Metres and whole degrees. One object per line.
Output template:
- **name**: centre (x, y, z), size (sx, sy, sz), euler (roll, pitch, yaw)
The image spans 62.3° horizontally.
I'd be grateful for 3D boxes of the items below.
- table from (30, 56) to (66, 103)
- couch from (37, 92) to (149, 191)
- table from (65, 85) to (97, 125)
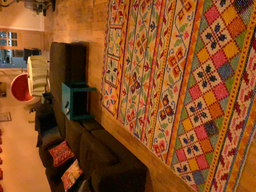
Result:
- **table**: centre (-2.250, -0.500, 5.930), size (1.060, 0.750, 1.090), euler (27, 116, 57)
- **couch**: centre (-0.990, 0.980, 3.800), size (3.490, 0.730, 1.280), euler (27, 116, 57)
- **table**: centre (-0.870, 0.140, 3.850), size (0.590, 0.410, 0.560), euler (28, 116, 56)
